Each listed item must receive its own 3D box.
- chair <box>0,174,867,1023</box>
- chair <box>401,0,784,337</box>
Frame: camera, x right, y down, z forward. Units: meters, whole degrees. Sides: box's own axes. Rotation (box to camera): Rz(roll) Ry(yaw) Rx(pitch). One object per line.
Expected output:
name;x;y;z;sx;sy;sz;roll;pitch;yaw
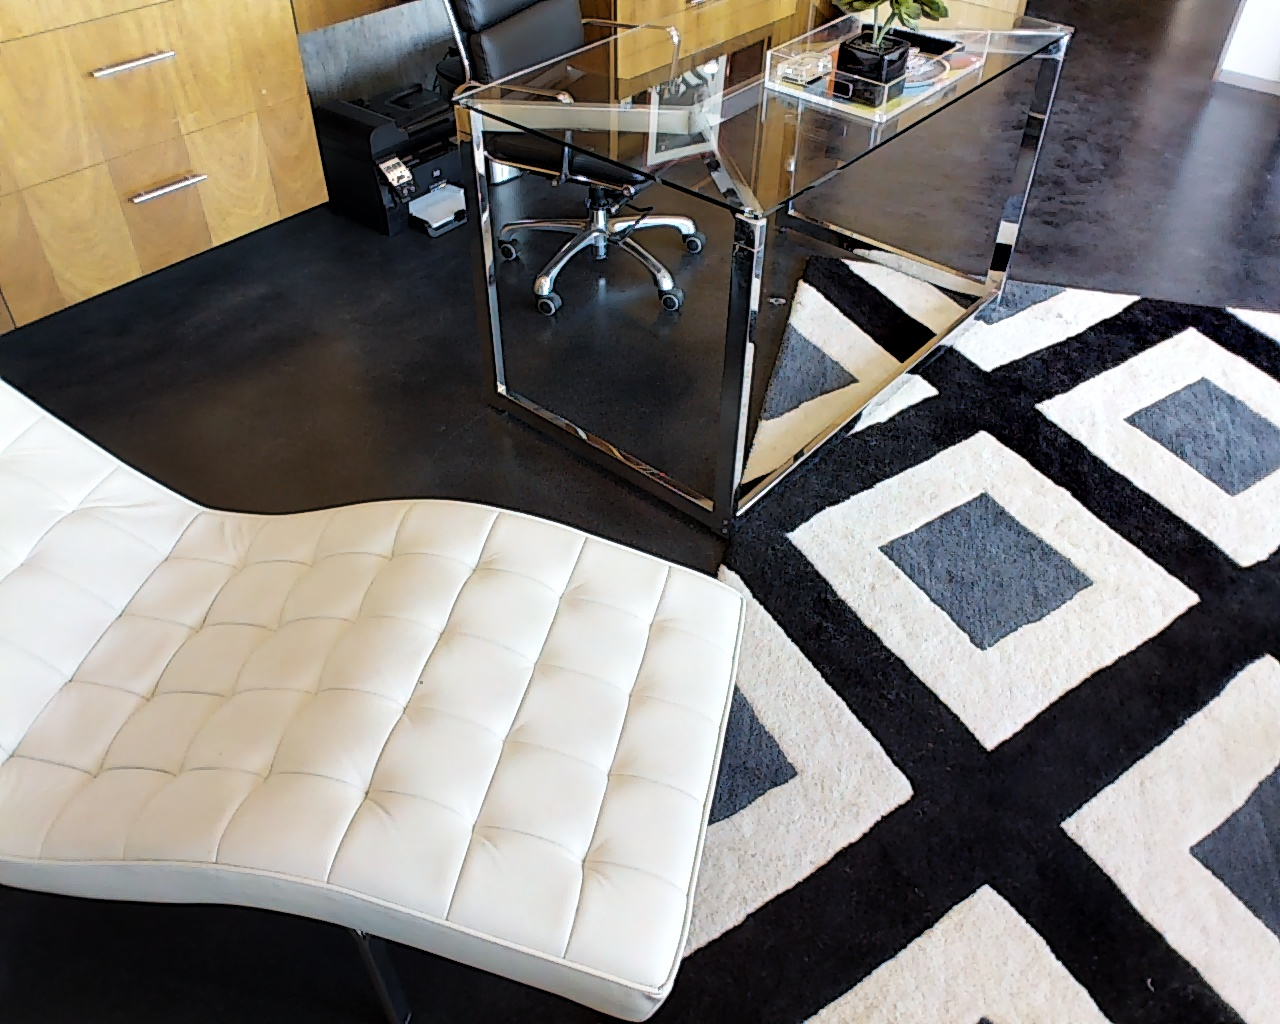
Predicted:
chair;-0.630;0.120;1.590;1.740;0.790;0.880;9;43;9
chair;-0.100;-1.180;2.900;0.740;1.040;0.700;19;45;19
